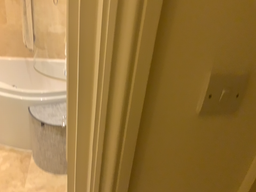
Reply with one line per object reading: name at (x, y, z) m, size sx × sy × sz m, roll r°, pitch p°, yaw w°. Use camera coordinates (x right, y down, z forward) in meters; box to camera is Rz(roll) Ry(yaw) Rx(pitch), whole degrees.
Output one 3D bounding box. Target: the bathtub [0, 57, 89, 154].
bathtub at (-1.260, 0.040, 2.130) m, size 1.610 × 0.600 × 0.910 m, roll 0°, pitch 27°, yaw -16°
